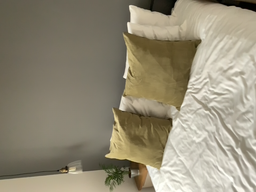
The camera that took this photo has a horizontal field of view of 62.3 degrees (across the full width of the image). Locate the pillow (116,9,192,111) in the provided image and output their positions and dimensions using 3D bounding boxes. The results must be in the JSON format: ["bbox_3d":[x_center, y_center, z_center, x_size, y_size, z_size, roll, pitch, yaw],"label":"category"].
[{"bbox_3d":[0.170,-0.260,1.510,0.200,0.430,0.600,33,131,27],"label":"pillow"}]

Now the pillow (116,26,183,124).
[{"bbox_3d":[0.150,-0.160,1.380,0.180,0.470,0.480,18,124,32],"label":"pillow"}]

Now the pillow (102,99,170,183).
[{"bbox_3d":[0.050,0.330,1.650,0.240,0.430,0.480,35,129,48],"label":"pillow"}]
